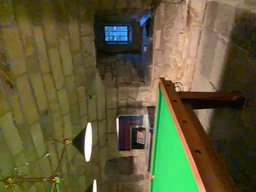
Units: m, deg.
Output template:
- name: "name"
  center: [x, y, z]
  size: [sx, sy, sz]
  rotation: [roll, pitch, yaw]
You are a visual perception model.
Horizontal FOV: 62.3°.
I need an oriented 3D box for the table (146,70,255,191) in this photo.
- name: "table"
  center: [0.770, 1.550, 2.390]
  size: [1.700, 0.910, 3.240]
  rotation: [-94, 4, -59]
